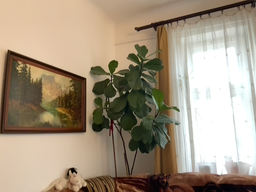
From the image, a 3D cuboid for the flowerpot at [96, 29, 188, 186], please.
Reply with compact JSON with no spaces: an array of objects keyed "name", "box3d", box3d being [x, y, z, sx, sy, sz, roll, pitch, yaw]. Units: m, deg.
[{"name":"flowerpot","box3d":[0.100,0.160,2.940,0.890,1.720,1.010,1,-8,-19]}]
